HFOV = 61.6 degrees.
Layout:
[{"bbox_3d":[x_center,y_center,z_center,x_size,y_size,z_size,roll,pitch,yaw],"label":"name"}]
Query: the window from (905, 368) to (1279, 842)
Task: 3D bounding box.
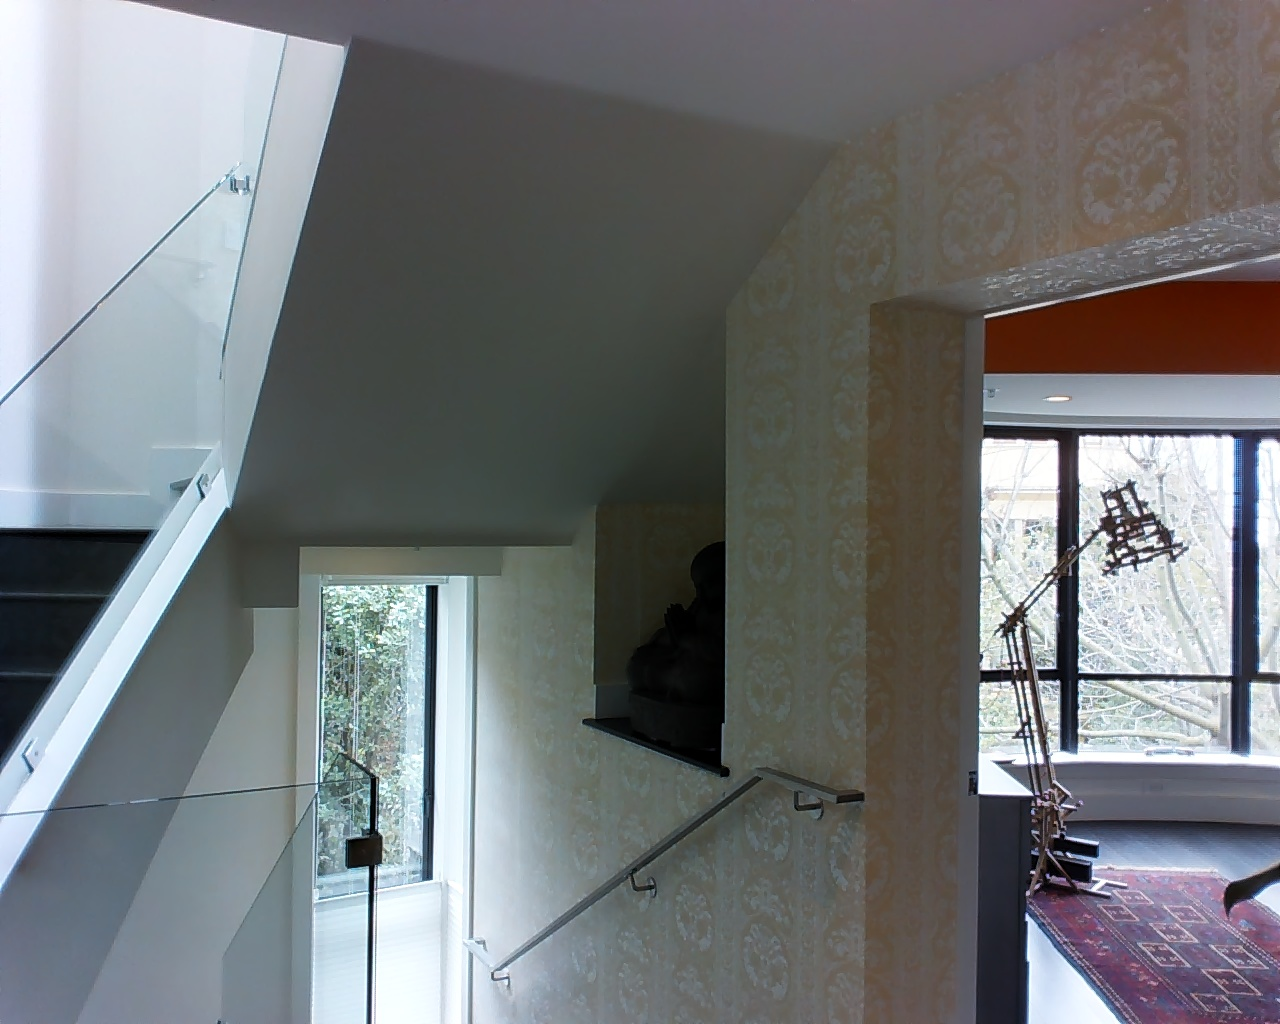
[{"bbox_3d":[2.850,0.460,5.620,2.750,2.330,0.620,1,-1,3],"label":"window"}]
